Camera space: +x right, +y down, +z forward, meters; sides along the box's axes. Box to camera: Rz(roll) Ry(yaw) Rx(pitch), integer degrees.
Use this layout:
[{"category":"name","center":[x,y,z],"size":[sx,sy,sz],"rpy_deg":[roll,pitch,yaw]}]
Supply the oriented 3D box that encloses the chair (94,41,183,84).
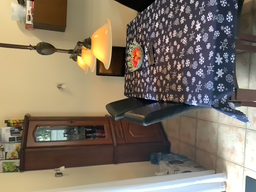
[{"category":"chair","center":[0.120,-0.440,2.860],"size":[0.530,1.040,0.430],"rpy_deg":[-152,66,-67]}]

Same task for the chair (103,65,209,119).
[{"category":"chair","center":[0.310,-0.020,2.350],"size":[0.430,1.090,0.500],"rpy_deg":[178,93,-69]}]

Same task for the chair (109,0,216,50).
[{"category":"chair","center":[0.370,-0.860,2.300],"size":[0.430,1.060,0.490],"rpy_deg":[169,102,-69]}]
